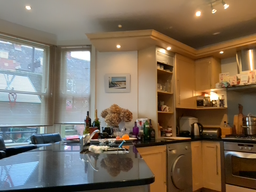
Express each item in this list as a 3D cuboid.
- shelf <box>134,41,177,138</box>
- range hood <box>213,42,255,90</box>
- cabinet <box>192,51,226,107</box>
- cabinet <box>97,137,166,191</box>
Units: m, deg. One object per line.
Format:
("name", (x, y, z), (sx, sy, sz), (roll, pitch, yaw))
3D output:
("shelf", (0.430, -0.080, 3.320), (0.550, 1.380, 0.380), (5, -8, -43))
("range hood", (1.820, -0.440, 3.230), (0.460, 0.570, 0.840), (5, -8, -41))
("cabinet", (1.430, -0.270, 3.740), (0.360, 0.910, 0.410), (5, -8, -43))
("cabinet", (0.040, 1.000, 2.670), (0.620, 0.880, 0.610), (5, -8, -43))
